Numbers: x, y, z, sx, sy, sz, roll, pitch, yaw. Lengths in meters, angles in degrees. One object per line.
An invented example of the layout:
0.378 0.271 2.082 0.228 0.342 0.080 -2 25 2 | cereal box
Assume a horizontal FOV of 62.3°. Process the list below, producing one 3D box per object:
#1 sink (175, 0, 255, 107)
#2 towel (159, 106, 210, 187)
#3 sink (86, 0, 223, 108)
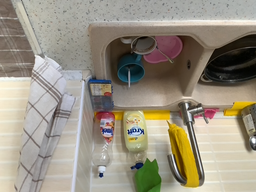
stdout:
0.430 -0.150 0.810 0.380 0.170 0.460 -1 146 -3 | sink
0.180 0.170 0.730 0.100 0.240 0.120 0 146 -4 | towel
0.060 -0.150 0.790 0.360 0.180 0.450 -1 146 -3 | sink
